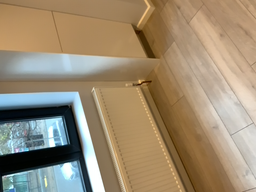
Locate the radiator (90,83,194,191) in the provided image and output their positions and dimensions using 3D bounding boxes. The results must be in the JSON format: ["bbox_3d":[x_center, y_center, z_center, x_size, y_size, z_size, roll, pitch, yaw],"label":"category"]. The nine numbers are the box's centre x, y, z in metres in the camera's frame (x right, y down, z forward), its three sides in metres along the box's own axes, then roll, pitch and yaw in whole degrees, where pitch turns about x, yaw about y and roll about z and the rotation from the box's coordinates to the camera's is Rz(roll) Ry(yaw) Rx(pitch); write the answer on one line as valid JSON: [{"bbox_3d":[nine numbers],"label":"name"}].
[{"bbox_3d":[0.150,0.480,1.670,0.040,0.580,1.410,-51,51,45],"label":"radiator"}]

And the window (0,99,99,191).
[{"bbox_3d":[-0.580,0.710,1.580,0.070,0.710,1.520,-49,52,46],"label":"window"}]

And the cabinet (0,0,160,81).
[{"bbox_3d":[-0.730,-0.420,1.710,0.350,2.110,0.490,-51,52,46],"label":"cabinet"}]
